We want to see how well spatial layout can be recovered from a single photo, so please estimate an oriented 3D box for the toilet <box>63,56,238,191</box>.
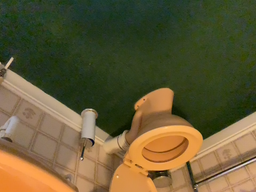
[{"bbox_3d":[0.100,0.410,1.210,0.680,0.960,0.600,-38,123,24],"label":"toilet"}]
